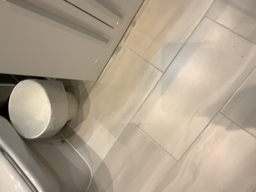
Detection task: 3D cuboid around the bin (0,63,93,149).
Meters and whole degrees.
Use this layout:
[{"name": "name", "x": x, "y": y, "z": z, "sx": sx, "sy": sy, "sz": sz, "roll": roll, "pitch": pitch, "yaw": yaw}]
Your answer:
[{"name": "bin", "x": -0.440, "y": 0.040, "z": 1.130, "sx": 0.320, "sy": 0.270, "sz": 0.270, "roll": 38, "pitch": 106, "yaw": 18}]
